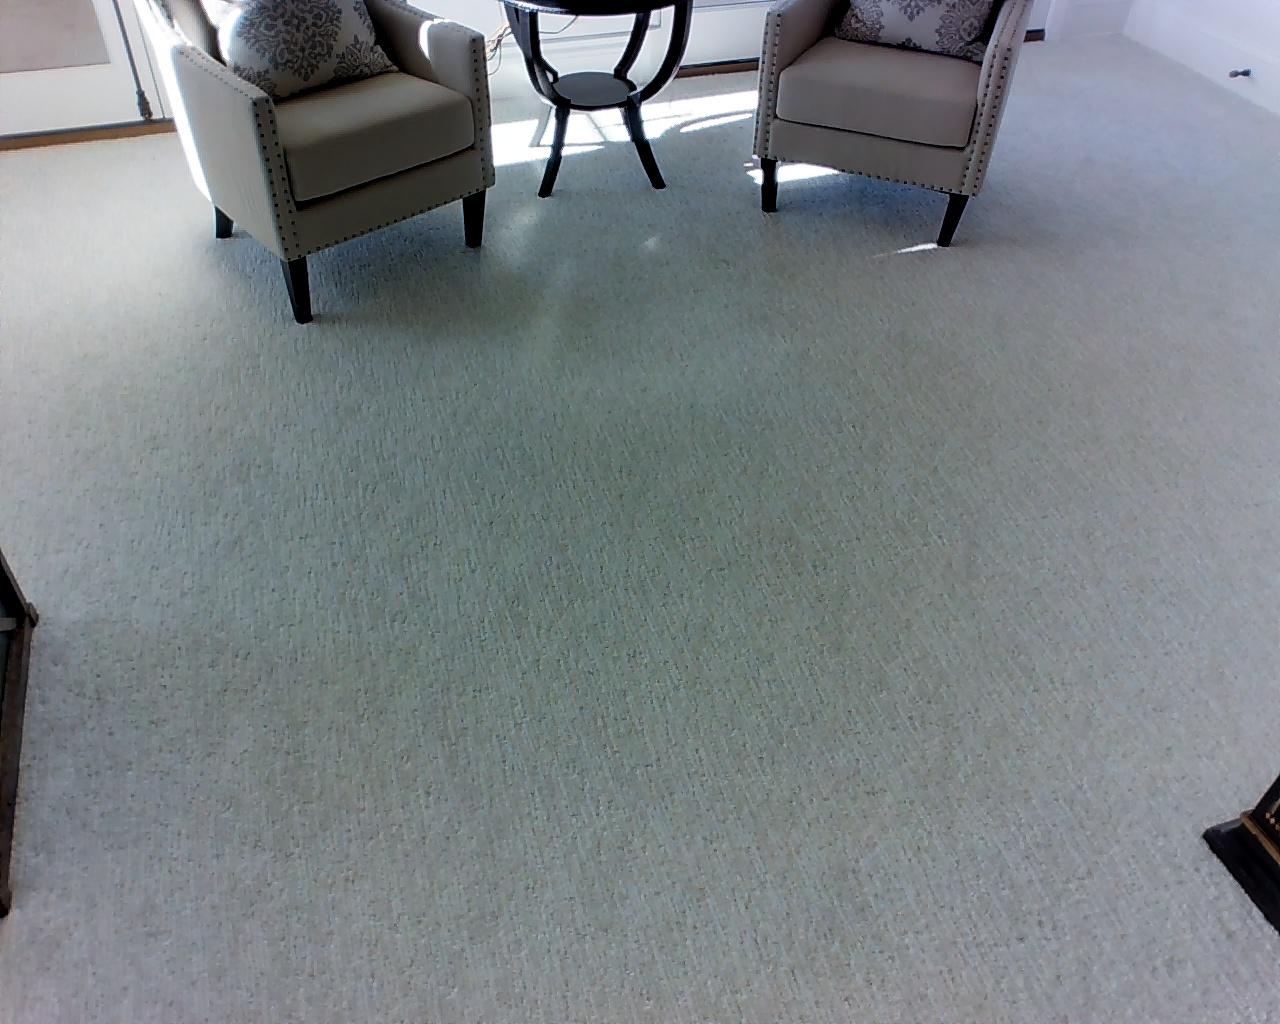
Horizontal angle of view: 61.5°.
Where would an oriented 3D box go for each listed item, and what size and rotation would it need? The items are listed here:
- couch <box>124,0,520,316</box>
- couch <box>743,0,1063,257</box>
[{"bbox_3d":[-0.900,-1.310,3.020,0.720,1.100,0.790,-31,51,-31],"label":"couch"},{"bbox_3d":[0.880,-1.580,3.370,0.790,1.130,0.860,16,44,16],"label":"couch"}]
